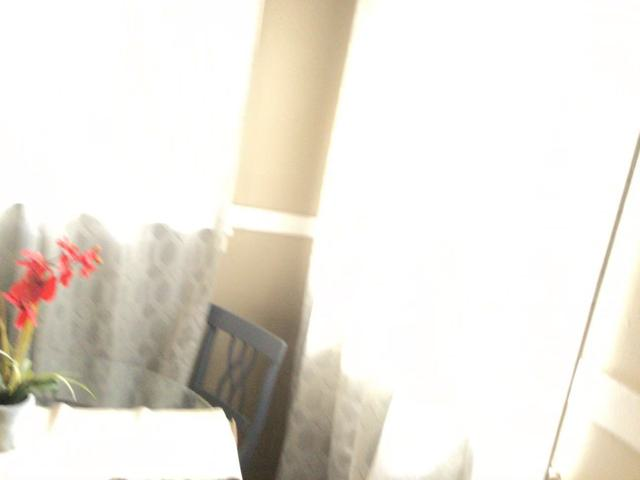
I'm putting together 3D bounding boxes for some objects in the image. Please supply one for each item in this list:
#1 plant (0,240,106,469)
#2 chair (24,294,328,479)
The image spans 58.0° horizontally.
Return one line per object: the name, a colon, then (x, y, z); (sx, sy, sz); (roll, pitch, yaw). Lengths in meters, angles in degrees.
plant: (-0.690, 0.260, 1.390); (0.280, 0.470, 0.260); (6, 6, -22)
chair: (-0.490, 0.710, 2.020); (0.650, 0.850, 0.720); (11, 7, 31)
